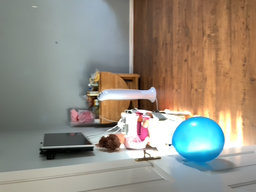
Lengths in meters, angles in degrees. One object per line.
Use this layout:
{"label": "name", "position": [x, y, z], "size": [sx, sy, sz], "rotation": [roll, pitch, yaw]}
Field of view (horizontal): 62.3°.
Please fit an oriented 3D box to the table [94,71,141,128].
{"label": "table", "position": [-0.190, 0.060, 3.700], "size": [0.380, 0.720, 0.920], "rotation": [175, 95, -69]}
